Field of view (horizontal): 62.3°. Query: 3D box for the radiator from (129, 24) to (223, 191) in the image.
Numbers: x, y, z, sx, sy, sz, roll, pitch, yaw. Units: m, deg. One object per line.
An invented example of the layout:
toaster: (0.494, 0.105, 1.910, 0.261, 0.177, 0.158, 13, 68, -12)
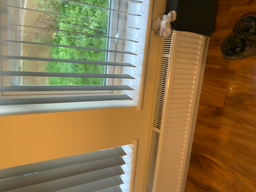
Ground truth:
radiator: (0.320, 0.330, 1.580, 0.180, 0.530, 1.570, 23, 110, 54)
